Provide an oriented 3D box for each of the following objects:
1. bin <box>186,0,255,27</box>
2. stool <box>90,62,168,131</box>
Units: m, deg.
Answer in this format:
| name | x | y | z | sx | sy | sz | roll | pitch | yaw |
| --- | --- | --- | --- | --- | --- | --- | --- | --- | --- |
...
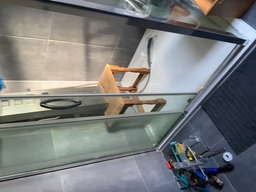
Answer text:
| name | x | y | z | sx | sy | sz | roll | pitch | yaw |
| --- | --- | --- | --- | --- | --- | --- | --- | --- | --- |
| bin | 0.530 | -0.620 | 1.220 | 0.260 | 0.280 | 0.320 | -60 | 44 | 40 |
| stool | -0.010 | 0.000 | 1.930 | 0.380 | 0.470 | 0.450 | -58 | 45 | 41 |
